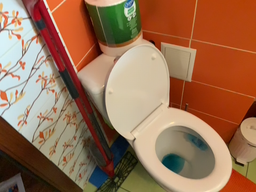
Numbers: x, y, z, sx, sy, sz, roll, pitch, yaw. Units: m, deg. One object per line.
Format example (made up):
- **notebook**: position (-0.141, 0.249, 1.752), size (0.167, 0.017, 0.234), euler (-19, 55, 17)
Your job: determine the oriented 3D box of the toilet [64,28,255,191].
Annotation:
- **toilet**: position (0.160, 0.200, 1.070), size (0.680, 0.780, 0.380), euler (35, 65, 29)
